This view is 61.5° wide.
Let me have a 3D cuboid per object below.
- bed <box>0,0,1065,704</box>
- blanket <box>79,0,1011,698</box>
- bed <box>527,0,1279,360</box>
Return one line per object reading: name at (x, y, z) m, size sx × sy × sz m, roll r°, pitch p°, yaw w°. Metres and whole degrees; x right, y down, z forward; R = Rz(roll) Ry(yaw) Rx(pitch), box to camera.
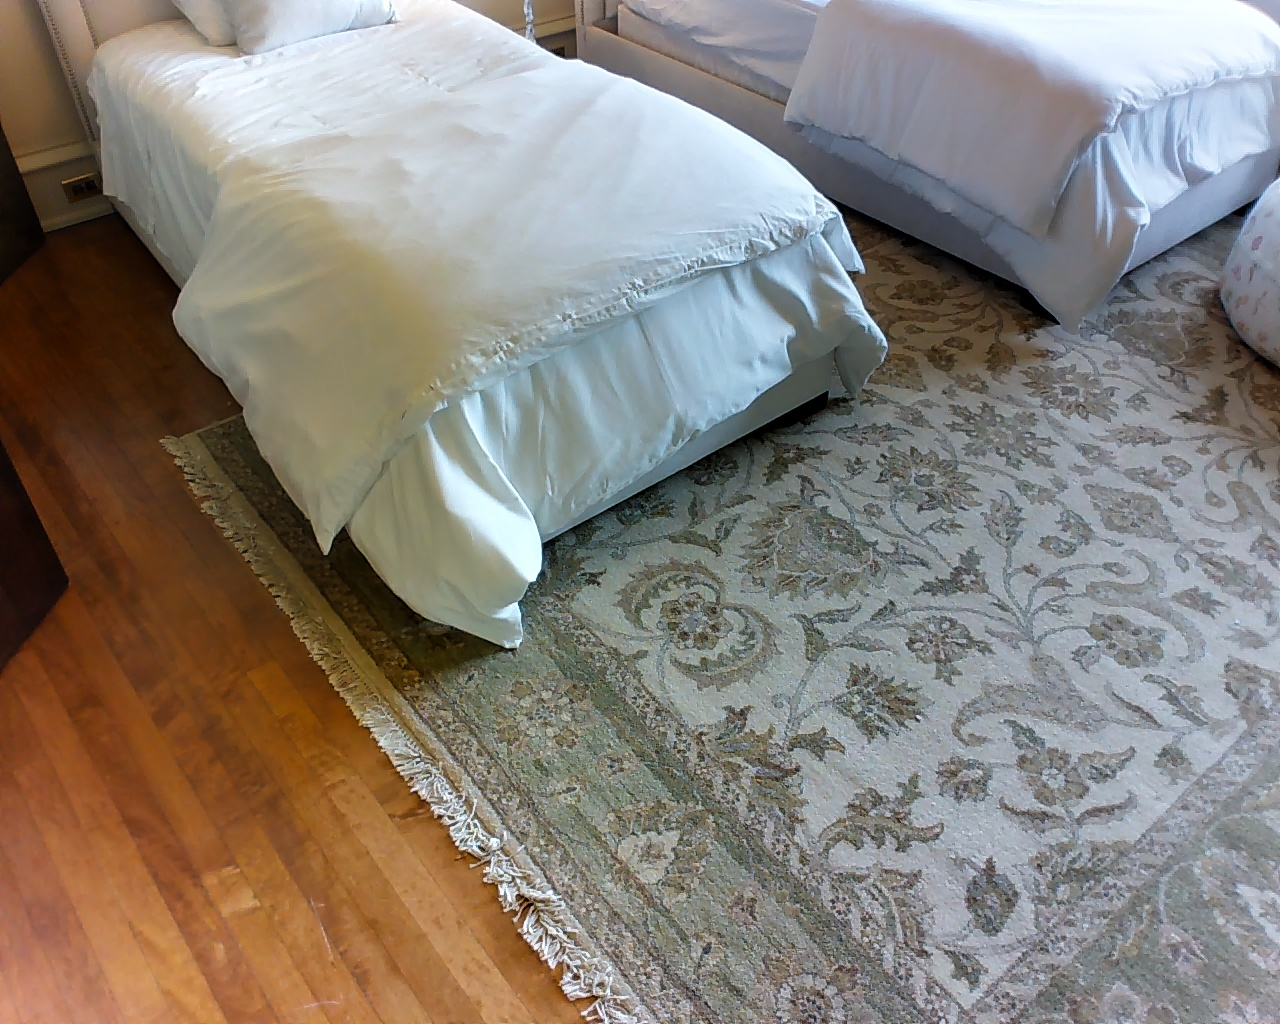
bed at (-0.530, -1.120, 2.500) m, size 1.530 × 1.410 × 2.360 m, roll -29°, pitch 50°, yaw -27°
blanket at (-0.190, -0.530, 2.420) m, size 1.500 × 0.640 × 1.180 m, roll -29°, pitch 50°, yaw -27°
bed at (0.910, -1.860, 3.260) m, size 1.440 × 1.430 × 2.420 m, roll -29°, pitch 50°, yaw -27°
